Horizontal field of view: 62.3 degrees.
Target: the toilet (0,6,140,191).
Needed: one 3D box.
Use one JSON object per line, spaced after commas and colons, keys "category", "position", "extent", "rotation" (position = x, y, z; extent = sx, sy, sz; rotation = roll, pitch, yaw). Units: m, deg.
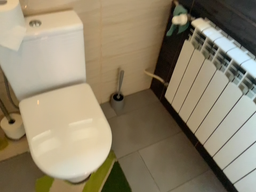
{"category": "toilet", "position": [-0.310, 0.100, 1.070], "extent": [0.380, 0.790, 0.610], "rotation": [-18, 55, -21]}
